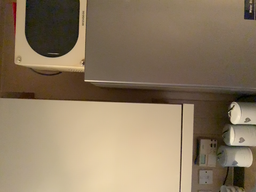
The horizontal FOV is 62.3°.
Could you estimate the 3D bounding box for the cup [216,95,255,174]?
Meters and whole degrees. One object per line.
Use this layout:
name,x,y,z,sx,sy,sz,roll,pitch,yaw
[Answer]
cup,0.560,0.180,1.080,0.200,0.120,0.360,150,123,-85
